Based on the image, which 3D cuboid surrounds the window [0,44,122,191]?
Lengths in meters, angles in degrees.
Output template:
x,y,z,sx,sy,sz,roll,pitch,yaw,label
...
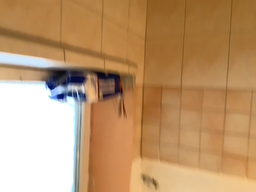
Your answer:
x,y,z,sx,sy,sz,roll,pitch,yaw,label
-0.370,0.430,0.790,0.220,1.160,0.910,5,-176,28,window
